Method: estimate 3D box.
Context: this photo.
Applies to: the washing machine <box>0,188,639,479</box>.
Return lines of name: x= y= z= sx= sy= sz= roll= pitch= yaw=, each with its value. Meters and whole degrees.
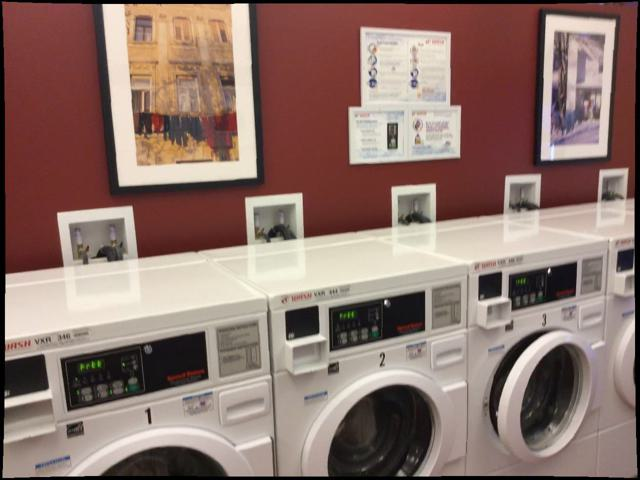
washing machine: x=0.450 y=0.511 z=2.280 sx=3.018 sy=1.101 sz=0.940 roll=-8 pitch=13 yaw=-26

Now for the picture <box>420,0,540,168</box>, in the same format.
picture: x=0.769 y=-0.741 z=2.750 sx=0.659 sy=0.741 sz=0.070 roll=-8 pitch=12 yaw=-26

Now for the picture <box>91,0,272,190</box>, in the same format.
picture: x=-0.490 y=-0.581 z=2.120 sx=0.590 sy=0.741 sz=0.090 roll=-8 pitch=12 yaw=-26
